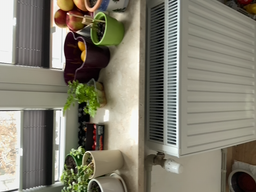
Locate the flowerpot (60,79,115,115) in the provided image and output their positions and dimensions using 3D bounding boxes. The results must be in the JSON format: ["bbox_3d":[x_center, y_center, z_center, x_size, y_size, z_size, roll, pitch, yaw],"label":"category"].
[{"bbox_3d":[-0.190,0.000,0.970,0.210,0.160,0.140,7,94,52],"label":"flowerpot"}]

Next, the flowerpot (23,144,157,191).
[{"bbox_3d":[-0.180,0.410,0.850,0.470,0.340,0.280,6,93,52],"label":"flowerpot"}]
